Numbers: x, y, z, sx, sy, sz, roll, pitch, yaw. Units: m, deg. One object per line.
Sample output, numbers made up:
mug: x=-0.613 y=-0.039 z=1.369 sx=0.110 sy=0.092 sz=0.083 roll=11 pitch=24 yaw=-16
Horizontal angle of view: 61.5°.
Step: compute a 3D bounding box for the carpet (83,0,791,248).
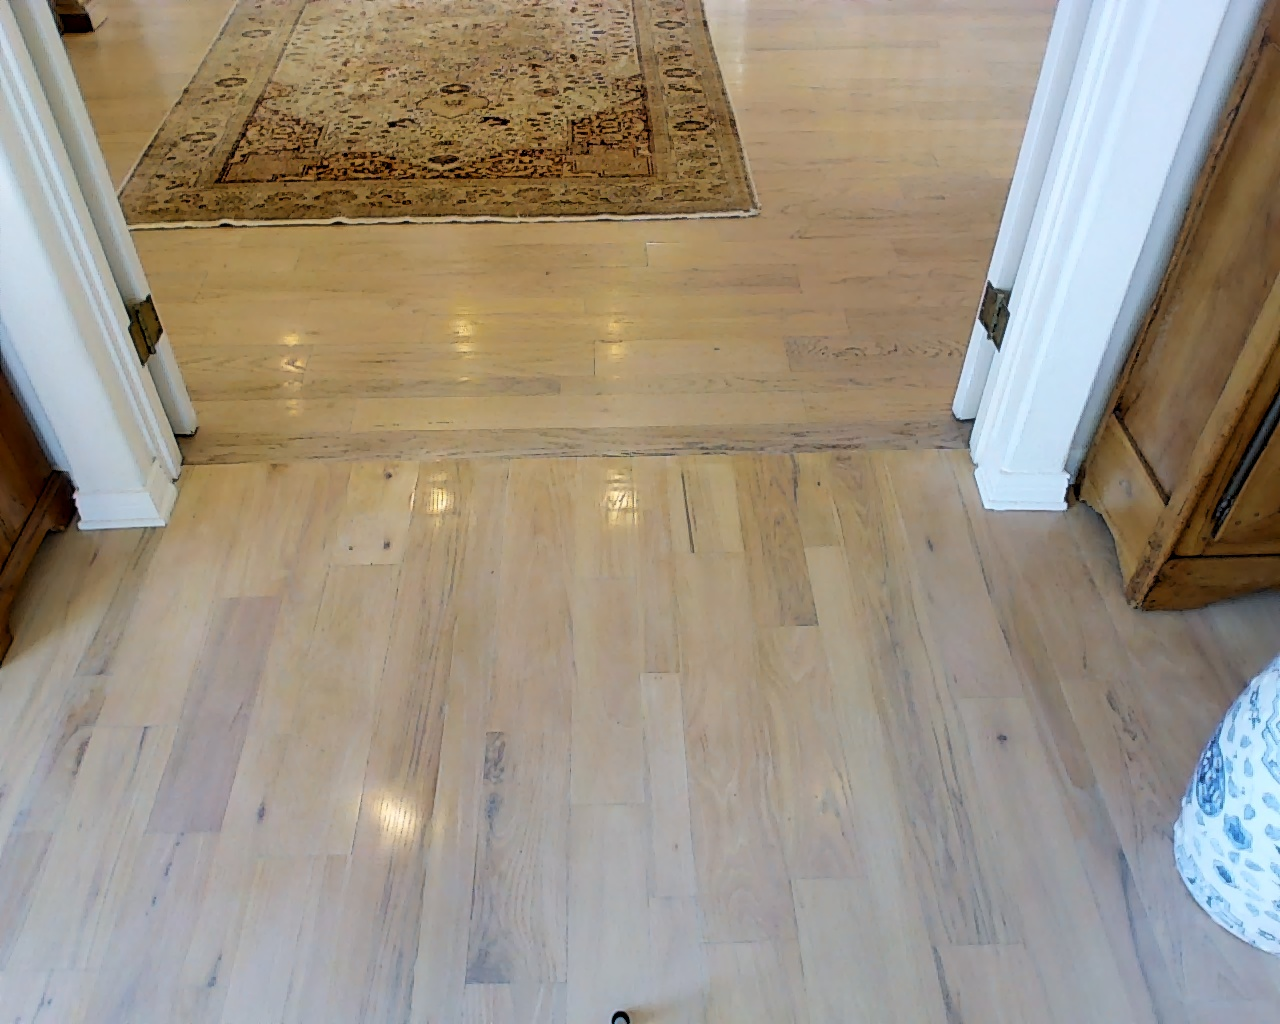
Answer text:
carpet: x=-0.690 y=-1.920 z=4.360 sx=2.120 sy=0.020 sz=3.110 roll=-2 pitch=44 yaw=-2
